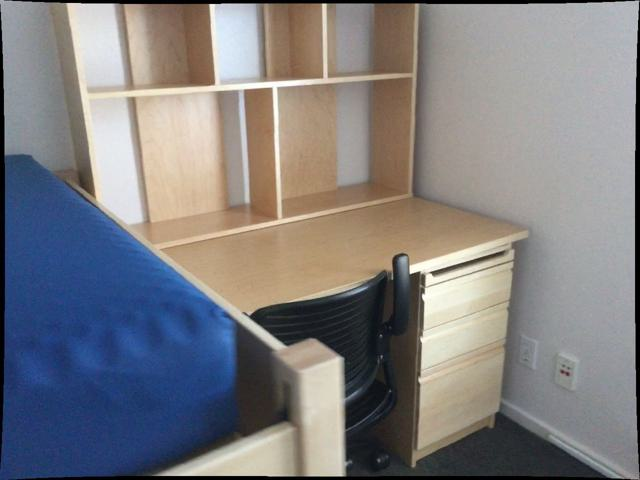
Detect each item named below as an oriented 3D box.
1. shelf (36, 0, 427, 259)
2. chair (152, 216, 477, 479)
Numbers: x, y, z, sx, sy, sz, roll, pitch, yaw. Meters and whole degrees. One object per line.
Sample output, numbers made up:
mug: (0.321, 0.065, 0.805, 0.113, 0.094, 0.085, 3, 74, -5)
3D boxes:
shelf: (-0.220, -0.461, 2.000, 1.249, 0.741, 0.320, -13, 24, -31)
chair: (-0.040, 0.451, 1.640, 0.619, 0.821, 0.610, -12, 23, -30)
